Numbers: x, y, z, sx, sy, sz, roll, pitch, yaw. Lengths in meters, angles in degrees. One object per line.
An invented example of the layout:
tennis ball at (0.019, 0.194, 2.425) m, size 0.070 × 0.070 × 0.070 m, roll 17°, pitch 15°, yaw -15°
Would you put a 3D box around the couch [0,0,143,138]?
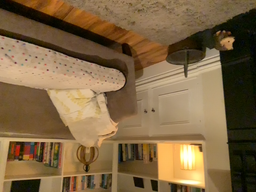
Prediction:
couch at (-0.890, -0.130, 1.720) m, size 1.830 × 0.860 × 1.030 m, roll 11°, pitch 164°, yaw -39°
